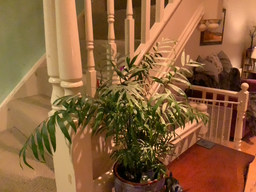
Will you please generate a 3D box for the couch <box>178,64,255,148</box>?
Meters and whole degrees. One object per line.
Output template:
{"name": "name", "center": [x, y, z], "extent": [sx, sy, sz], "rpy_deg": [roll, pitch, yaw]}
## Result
{"name": "couch", "center": [1.730, 0.030, 3.640], "extent": [1.000, 0.930, 1.510], "rpy_deg": [14, 21, 42]}
